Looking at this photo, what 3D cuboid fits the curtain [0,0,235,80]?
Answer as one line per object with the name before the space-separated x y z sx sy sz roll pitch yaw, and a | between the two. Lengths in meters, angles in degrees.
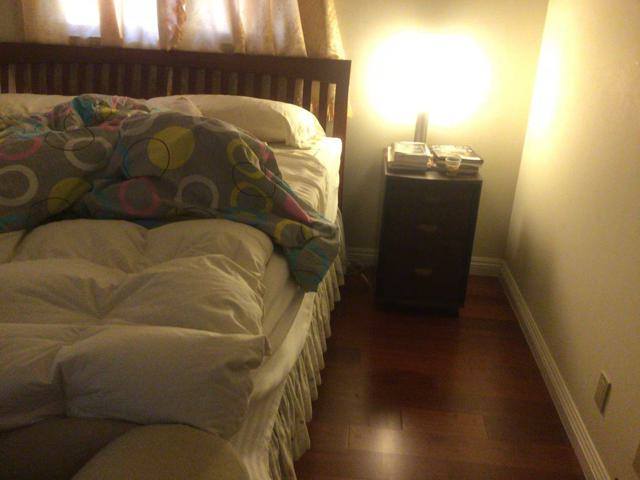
curtain | -0.930 -1.150 2.630 1.040 0.730 0.260 4 21 3
